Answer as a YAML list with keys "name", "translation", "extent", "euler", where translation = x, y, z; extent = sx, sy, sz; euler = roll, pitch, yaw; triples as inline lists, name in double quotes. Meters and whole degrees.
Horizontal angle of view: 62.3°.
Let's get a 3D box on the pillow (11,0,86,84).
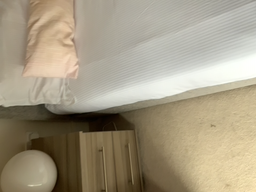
- name: "pillow"
  translation: [-0.380, -0.380, 1.060]
  extent: [0.210, 0.300, 0.540]
  euler: [-10, 74, 7]
